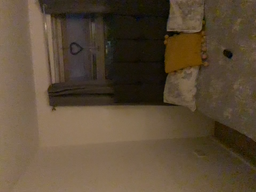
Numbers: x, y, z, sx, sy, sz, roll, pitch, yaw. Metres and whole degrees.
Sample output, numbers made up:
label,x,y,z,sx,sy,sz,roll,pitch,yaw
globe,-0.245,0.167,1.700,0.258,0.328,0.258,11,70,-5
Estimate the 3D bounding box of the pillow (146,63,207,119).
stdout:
label,x,y,z,sx,sy,sz,roll,pitch,yaw
pillow,0.460,-0.050,2.040,0.400,0.370,0.170,32,-177,-14
